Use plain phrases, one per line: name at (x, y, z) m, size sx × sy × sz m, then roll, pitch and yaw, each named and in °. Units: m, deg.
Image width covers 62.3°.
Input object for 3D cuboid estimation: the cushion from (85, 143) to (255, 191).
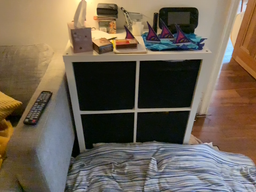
cushion at (0.320, 0.550, 1.220) m, size 1.100 × 0.150 × 0.550 m, roll 1°, pitch 37°, yaw 0°
